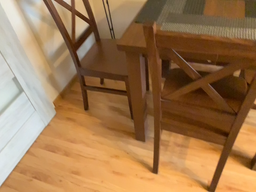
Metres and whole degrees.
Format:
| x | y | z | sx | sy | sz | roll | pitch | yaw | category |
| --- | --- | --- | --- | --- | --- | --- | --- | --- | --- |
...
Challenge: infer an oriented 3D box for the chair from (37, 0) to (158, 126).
| x | y | z | sx | sy | sz | roll | pitch | yaw | category |
| --- | --- | --- | --- | --- | --- | --- | --- | --- | --- |
| -0.110 | -0.310 | 1.420 | 0.510 | 0.920 | 0.440 | 12 | 48 | 19 | chair |
